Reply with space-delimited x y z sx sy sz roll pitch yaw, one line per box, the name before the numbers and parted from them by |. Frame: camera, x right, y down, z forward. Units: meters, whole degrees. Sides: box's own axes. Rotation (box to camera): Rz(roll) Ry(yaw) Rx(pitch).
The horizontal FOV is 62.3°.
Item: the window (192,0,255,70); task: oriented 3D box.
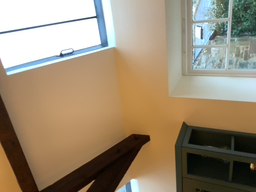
window | 1.080 -0.590 2.000 0.050 0.910 0.700 -42 -49 -56
